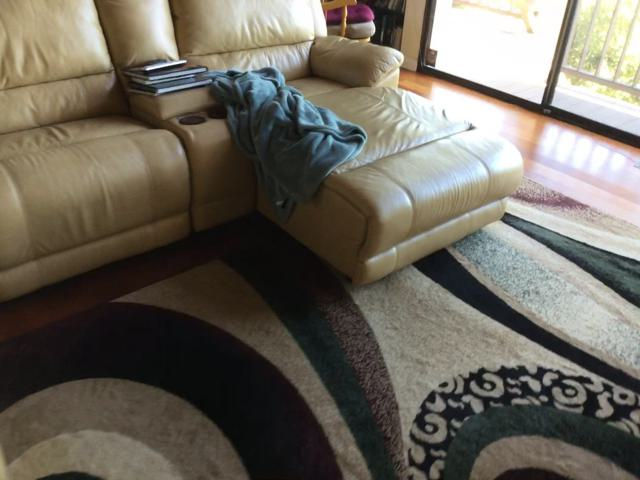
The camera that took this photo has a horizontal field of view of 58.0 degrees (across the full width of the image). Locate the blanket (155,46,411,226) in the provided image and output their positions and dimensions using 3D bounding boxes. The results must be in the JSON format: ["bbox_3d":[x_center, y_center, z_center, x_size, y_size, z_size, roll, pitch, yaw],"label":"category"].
[{"bbox_3d":[-0.200,-0.520,2.550,0.570,0.390,1.040,-23,39,-34],"label":"blanket"}]
